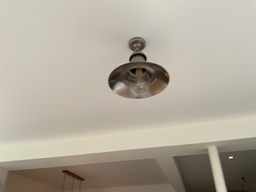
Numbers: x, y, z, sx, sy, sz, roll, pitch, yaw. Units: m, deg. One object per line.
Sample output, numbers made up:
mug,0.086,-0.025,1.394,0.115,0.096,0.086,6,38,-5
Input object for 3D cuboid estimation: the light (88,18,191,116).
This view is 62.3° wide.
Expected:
light,0.060,-0.150,1.310,0.480,0.360,0.320,16,54,-18
